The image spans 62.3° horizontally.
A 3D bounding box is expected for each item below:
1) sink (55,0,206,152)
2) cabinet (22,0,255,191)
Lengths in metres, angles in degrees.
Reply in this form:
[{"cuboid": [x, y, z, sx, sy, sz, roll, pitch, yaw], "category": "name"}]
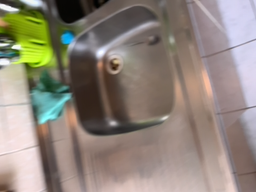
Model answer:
[{"cuboid": [-0.010, -0.050, 0.680, 0.380, 0.170, 0.380, -17, 84, 33], "category": "sink"}, {"cuboid": [0.140, -0.050, 0.980, 0.570, 0.830, 1.220, -17, 84, 33], "category": "cabinet"}]
